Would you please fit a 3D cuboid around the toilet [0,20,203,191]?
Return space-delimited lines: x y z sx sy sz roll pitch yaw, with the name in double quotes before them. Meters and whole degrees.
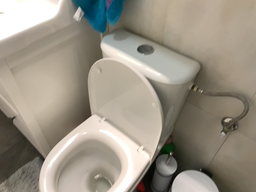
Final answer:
"toilet" -0.100 0.210 0.890 0.370 0.770 0.580 34 56 26
